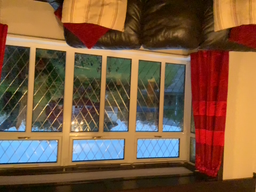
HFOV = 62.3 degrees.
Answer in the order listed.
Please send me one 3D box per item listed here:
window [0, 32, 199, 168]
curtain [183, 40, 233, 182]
[{"bbox_3d":[-0.320,0.120,3.160,3.090,1.700,0.130,3,179,-18],"label":"window"},{"bbox_3d":[1.060,0.190,2.840,0.400,1.730,0.380,3,179,-20],"label":"curtain"}]
